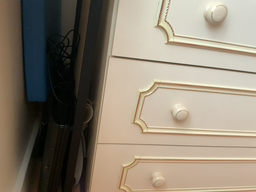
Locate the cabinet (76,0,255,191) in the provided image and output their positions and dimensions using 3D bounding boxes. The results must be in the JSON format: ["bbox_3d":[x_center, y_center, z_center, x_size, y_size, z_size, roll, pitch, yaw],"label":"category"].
[{"bbox_3d":[0.270,-0.140,0.790,0.820,1.090,0.620,4,26,-15],"label":"cabinet"}]
